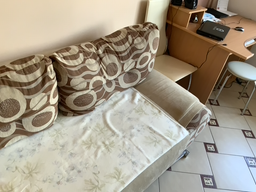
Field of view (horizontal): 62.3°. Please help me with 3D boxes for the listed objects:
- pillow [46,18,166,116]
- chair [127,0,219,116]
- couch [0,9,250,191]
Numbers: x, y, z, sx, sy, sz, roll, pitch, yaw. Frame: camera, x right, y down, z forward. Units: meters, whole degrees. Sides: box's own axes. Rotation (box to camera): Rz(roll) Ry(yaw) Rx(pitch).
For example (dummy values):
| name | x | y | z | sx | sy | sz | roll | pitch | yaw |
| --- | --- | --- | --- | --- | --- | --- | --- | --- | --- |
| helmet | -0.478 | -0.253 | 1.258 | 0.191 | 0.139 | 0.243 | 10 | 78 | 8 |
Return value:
| name | x | y | z | sx | sy | sz | roll | pitch | yaw |
| --- | --- | --- | --- | --- | --- | --- | --- | --- | --- |
| pillow | -0.120 | -0.250 | 1.540 | 0.830 | 0.430 | 0.240 | -27 | 51 | -37 |
| chair | 0.370 | -0.380 | 2.090 | 0.380 | 0.960 | 0.540 | -27 | 51 | -37 |
| couch | -0.330 | 0.200 | 1.280 | 2.000 | 0.880 | 0.980 | -27 | 51 | -37 |
